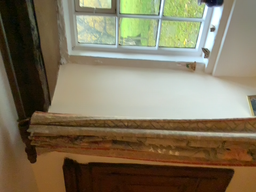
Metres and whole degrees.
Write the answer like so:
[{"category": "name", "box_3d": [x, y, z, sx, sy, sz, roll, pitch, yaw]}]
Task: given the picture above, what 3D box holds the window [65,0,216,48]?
[{"category": "window", "box_3d": [0.090, -0.760, 1.140, 0.130, 0.860, 0.960, -92, 6, -54]}]
